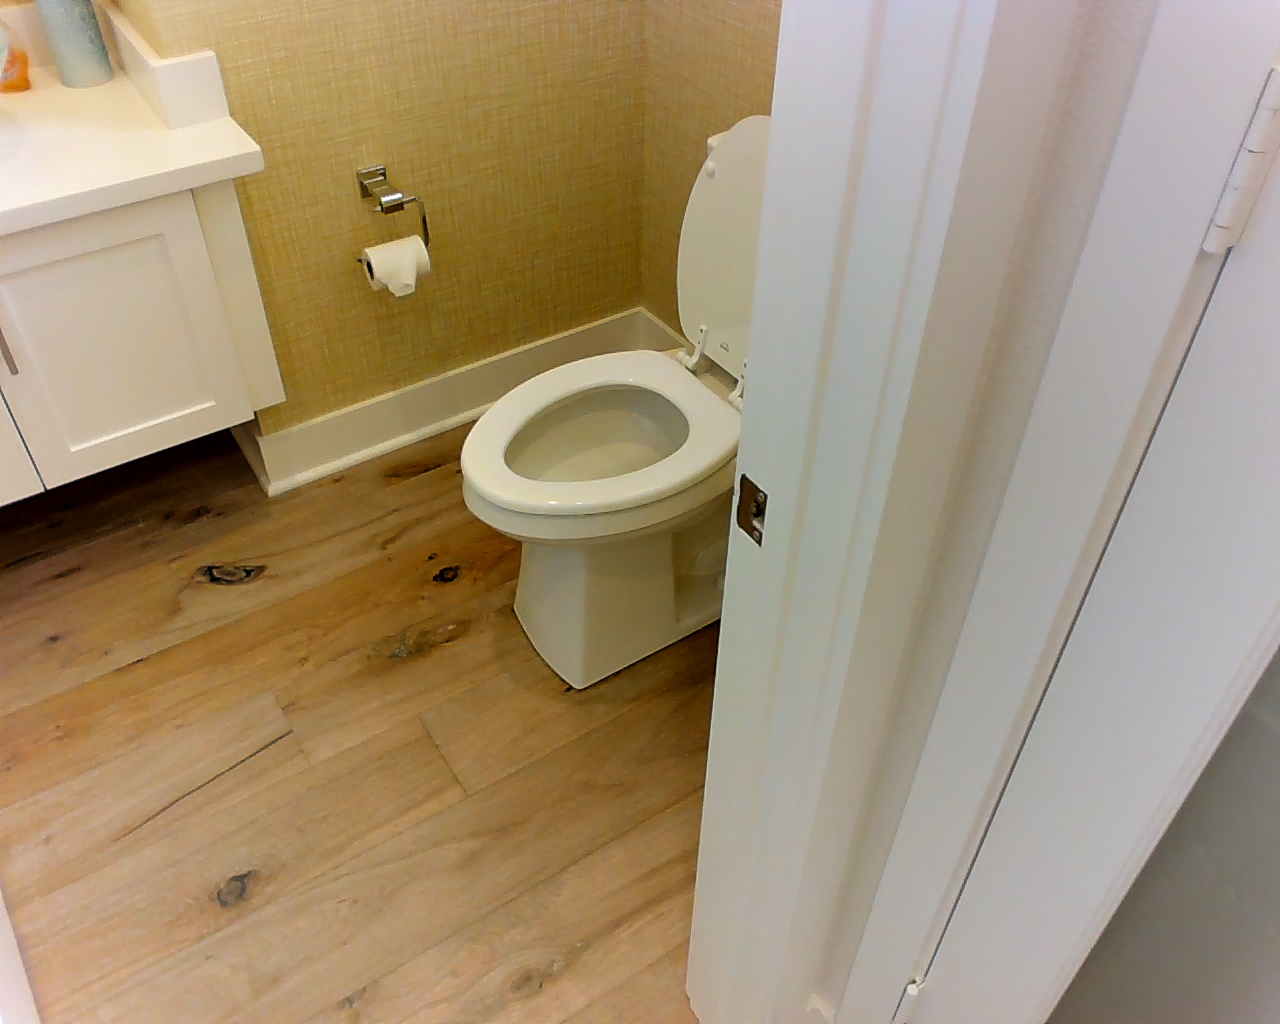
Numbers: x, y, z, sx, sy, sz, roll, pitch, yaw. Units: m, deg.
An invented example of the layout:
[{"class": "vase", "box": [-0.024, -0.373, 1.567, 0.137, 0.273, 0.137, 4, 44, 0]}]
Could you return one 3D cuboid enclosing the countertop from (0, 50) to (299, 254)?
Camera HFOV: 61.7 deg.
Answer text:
[{"class": "countertop", "box": [-1.090, -0.530, 1.660, 0.930, 0.030, 0.600, -24, 48, -26]}]
